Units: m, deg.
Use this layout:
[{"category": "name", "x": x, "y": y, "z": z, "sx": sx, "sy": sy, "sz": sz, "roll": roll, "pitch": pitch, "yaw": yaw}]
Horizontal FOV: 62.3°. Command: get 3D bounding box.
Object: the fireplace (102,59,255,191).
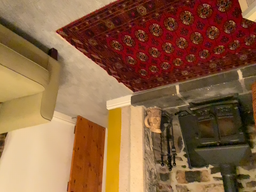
[{"category": "fireplace", "x": 0.810, "y": 0.720, "z": 2.020, "sx": 2.020, "sy": 1.700, "sz": 0.790, "roll": -14, "pitch": 152, "yaw": 29}]
